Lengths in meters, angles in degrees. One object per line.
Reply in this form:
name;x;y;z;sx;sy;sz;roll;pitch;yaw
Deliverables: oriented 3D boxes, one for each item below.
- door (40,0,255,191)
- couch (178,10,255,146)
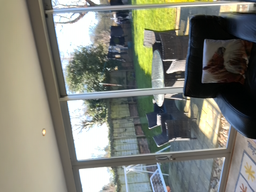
door;0.350;0.720;3.130;0.070;2.440;5.640;-101;8;-66
couch;1.050;-0.250;1.910;0.960;0.860;0.910;-101;8;-65
